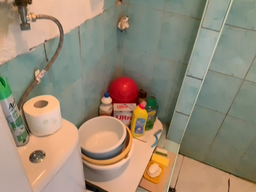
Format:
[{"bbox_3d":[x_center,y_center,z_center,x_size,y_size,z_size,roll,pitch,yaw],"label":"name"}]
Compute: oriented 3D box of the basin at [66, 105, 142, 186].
[{"bbox_3d":[-0.120,0.260,1.190,0.280,0.180,0.330,19,40,15],"label":"basin"}]
